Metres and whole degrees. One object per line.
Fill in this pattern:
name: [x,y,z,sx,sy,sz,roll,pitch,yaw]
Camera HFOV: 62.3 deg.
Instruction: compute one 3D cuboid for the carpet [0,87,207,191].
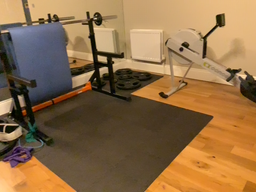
carpet: [-0.370,0.360,2.250,1.840,0.090,1.510,16,30,38]
